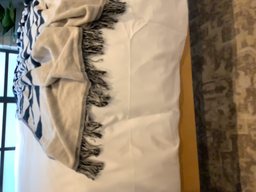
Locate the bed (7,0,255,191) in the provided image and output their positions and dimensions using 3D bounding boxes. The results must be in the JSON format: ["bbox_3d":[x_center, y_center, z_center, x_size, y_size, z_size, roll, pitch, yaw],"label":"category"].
[{"bbox_3d":[-0.250,0.420,1.190,1.540,0.690,2.070,-12,77,58],"label":"bed"}]
